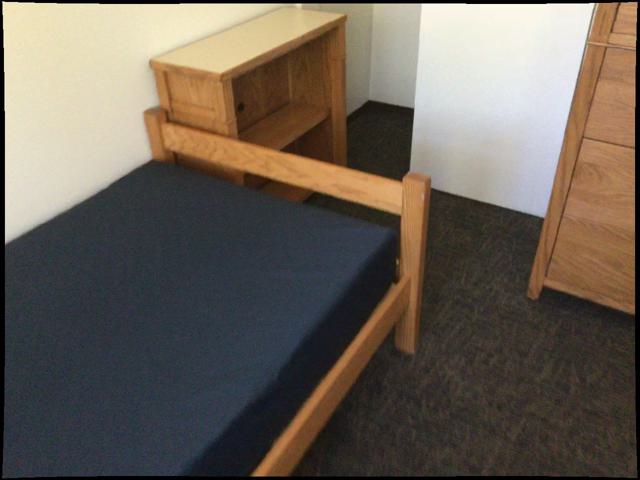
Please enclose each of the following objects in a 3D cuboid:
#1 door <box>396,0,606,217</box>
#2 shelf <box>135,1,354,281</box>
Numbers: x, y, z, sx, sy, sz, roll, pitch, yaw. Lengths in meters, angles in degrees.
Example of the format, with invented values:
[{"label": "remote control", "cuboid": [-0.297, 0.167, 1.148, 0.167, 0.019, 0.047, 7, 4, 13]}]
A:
[{"label": "door", "cuboid": [0.648, -0.872, 2.100, 0.709, 1.663, 0.080, 18, 43, 25]}, {"label": "shelf", "cuboid": [-0.219, -0.431, 2.310, 0.369, 0.771, 0.850, 17, 41, 24]}]
